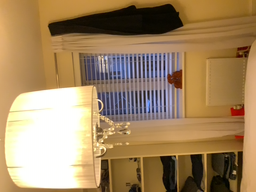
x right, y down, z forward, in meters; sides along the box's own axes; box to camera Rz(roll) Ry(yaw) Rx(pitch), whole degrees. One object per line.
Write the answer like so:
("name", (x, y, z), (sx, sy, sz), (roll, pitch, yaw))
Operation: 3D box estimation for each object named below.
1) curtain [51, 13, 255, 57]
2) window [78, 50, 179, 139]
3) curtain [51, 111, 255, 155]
("curtain", (0.360, -0.610, 2.130), (0.200, 2.140, 0.340), (-115, 22, -81))
("window", (0.030, -0.010, 2.370), (0.060, 1.080, 0.950), (-111, 19, -79))
("curtain", (0.360, 0.380, 2.270), (0.190, 2.250, 0.280), (-112, 20, -80))
